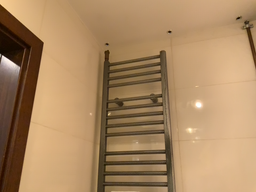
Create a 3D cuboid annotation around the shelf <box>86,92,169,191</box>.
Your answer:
[{"bbox_3d":[0.000,0.530,1.020,0.380,1.080,0.160,-5,-21,15],"label":"shelf"}]
